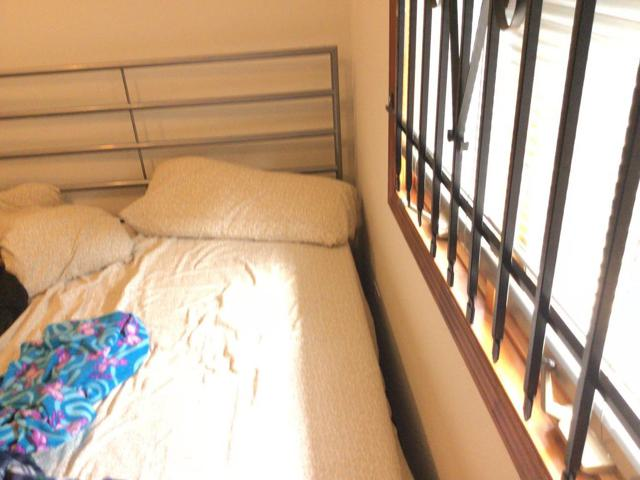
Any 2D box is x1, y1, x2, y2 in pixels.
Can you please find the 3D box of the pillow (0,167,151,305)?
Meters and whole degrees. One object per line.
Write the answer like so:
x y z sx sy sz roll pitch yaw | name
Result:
-1.020 -0.030 1.990 0.740 0.180 0.660 -5 27 -5 | pillow

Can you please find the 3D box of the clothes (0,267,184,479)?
-0.640 0.400 1.220 0.580 0.130 1.070 -5 27 -5 | clothes

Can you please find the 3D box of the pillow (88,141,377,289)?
-0.290 -0.120 2.110 0.900 0.270 0.540 -5 27 -5 | pillow

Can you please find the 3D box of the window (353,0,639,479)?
0.250 -0.400 0.820 0.180 1.340 1.370 -5 27 -5 | window
